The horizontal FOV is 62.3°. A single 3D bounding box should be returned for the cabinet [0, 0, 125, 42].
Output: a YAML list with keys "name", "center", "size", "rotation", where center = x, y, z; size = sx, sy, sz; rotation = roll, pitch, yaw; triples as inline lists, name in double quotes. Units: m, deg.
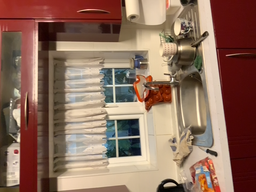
- name: "cabinet"
  center: [-0.490, -0.620, 1.570]
  size: [0.350, 0.880, 0.310]
  rotation: [130, 138, -77]

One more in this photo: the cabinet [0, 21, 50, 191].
- name: "cabinet"
  center: [-0.730, 0.110, 1.420]
  size: [0.330, 0.320, 1.140]
  rotation: [130, 138, -77]
